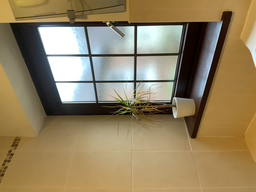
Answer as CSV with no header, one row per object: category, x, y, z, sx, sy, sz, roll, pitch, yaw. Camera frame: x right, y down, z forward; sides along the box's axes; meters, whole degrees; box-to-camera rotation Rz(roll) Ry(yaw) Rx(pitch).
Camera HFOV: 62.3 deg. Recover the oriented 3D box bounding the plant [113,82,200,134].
plant,0.180,0.090,1.500,0.200,0.540,0.320,-89,-1,-48
